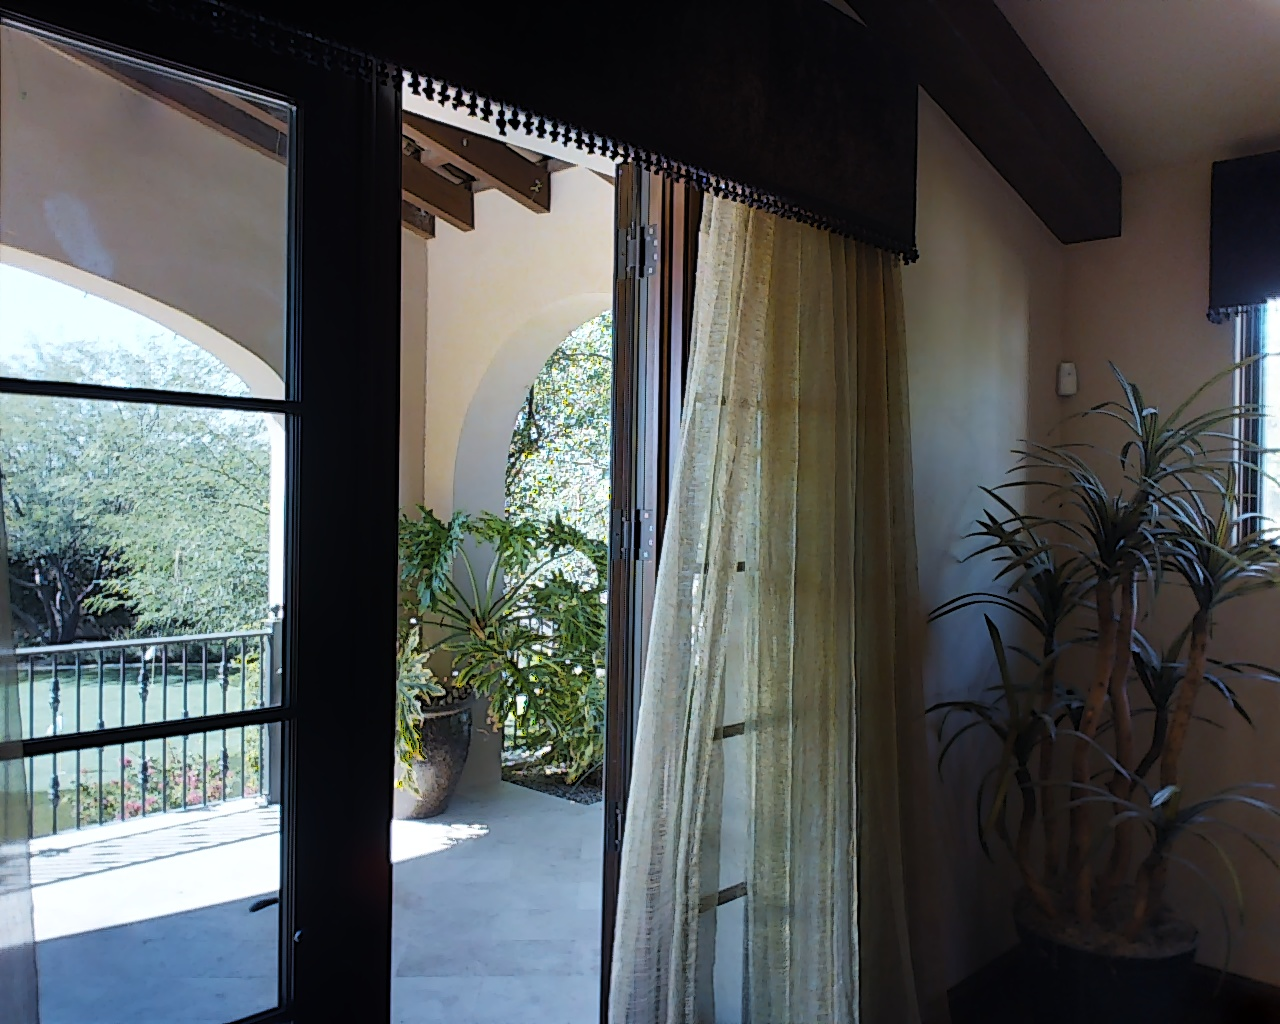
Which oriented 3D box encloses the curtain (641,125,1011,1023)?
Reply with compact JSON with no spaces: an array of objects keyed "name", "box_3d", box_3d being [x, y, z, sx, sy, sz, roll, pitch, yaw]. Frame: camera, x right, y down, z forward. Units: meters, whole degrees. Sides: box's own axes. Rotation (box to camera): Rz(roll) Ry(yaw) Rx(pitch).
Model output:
[{"name":"curtain","box_3d":[0.460,0.430,2.430,0.330,2.280,0.960,1,0,44]}]
